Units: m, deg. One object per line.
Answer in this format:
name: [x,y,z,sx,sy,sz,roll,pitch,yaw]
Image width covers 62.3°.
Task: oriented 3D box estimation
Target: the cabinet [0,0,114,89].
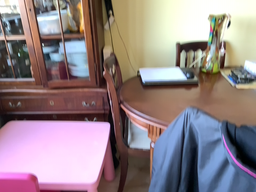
cabinet: [-0.590,-0.630,1.430,0.910,1.070,0.460,0,26,1]
